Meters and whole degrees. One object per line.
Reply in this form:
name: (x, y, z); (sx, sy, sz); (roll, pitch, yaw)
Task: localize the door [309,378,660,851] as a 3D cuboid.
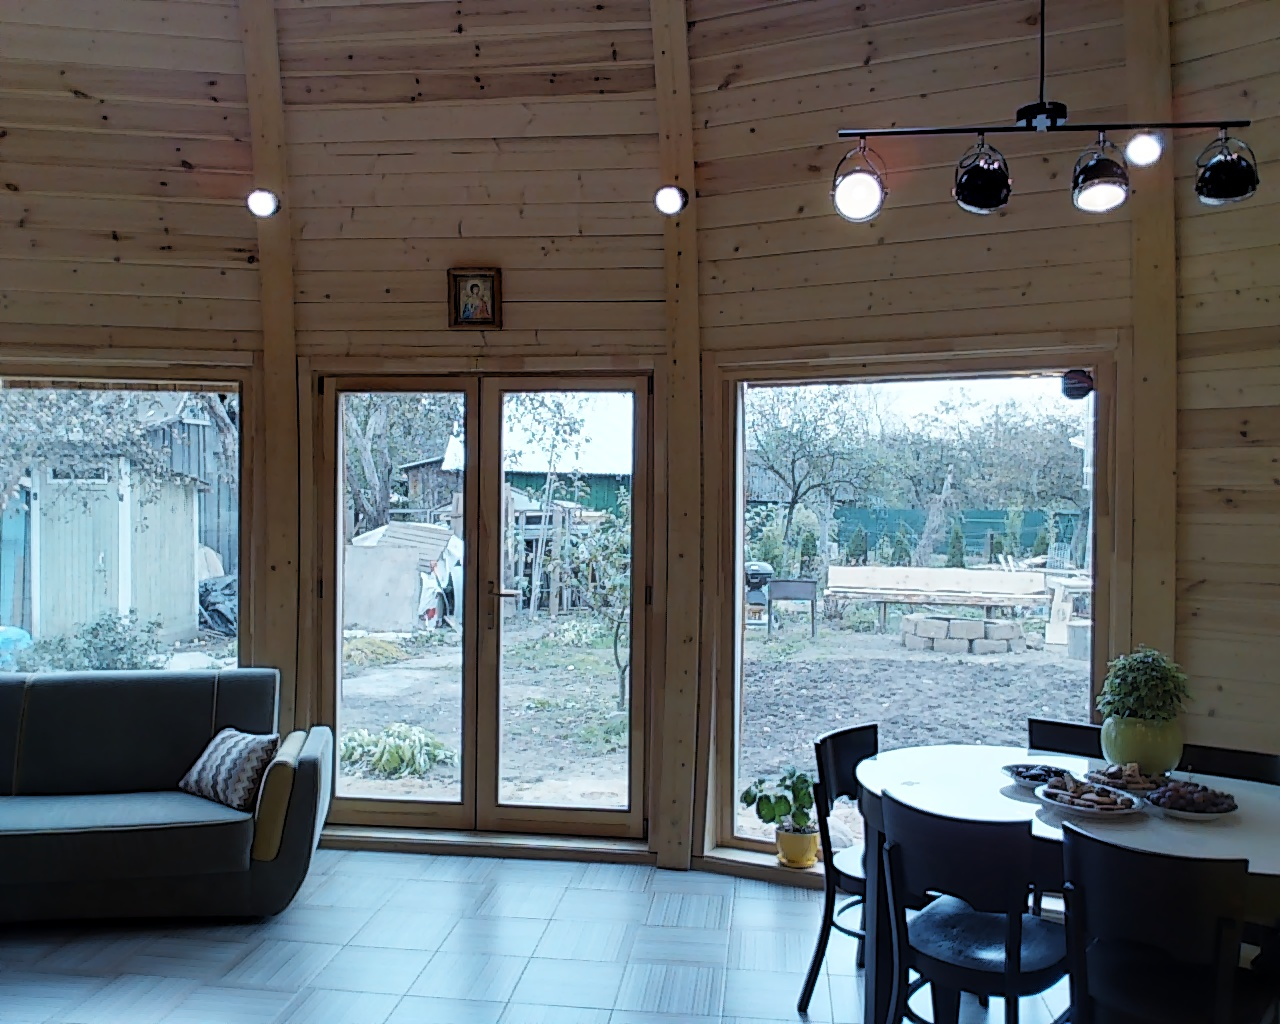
door: (-0.700, 0.440, 4.850); (1.550, 2.061, 0.180); (1, 0, 6)
